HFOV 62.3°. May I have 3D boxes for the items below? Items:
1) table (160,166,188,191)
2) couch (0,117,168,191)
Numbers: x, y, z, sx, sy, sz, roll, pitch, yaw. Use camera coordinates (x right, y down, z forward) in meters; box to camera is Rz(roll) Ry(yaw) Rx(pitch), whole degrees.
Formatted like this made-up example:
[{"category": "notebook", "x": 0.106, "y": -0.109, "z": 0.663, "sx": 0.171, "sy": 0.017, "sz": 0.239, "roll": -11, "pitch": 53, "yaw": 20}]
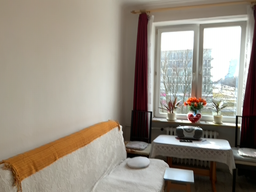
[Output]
[{"category": "table", "x": 0.530, "y": 1.090, "z": 2.440, "sx": 0.290, "sy": 0.440, "sz": 0.300, "roll": 2, "pitch": 4, "yaw": 17}, {"category": "couch", "x": -0.230, "y": 0.850, "z": 1.980, "sx": 0.930, "sy": 0.960, "sz": 1.960, "roll": 2, "pitch": 4, "yaw": 17}]
